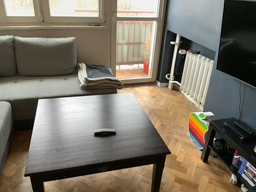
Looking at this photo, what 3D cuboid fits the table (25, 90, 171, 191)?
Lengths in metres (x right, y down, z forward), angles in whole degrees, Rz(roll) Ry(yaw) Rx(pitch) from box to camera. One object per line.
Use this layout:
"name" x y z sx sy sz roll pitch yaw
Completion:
"table" -0.280 0.410 1.810 0.900 0.530 0.910 -4 28 -15

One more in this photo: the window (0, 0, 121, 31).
"window" -1.150 -1.410 2.490 2.210 1.220 0.100 -5 29 -17
